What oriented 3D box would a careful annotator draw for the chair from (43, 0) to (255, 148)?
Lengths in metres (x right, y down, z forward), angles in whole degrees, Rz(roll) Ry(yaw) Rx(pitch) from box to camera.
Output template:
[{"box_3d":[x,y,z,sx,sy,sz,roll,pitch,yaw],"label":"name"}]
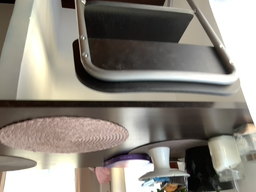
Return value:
[{"box_3d":[-0.010,-0.390,0.780,0.410,1.030,0.500,1,154,-13],"label":"chair"}]
